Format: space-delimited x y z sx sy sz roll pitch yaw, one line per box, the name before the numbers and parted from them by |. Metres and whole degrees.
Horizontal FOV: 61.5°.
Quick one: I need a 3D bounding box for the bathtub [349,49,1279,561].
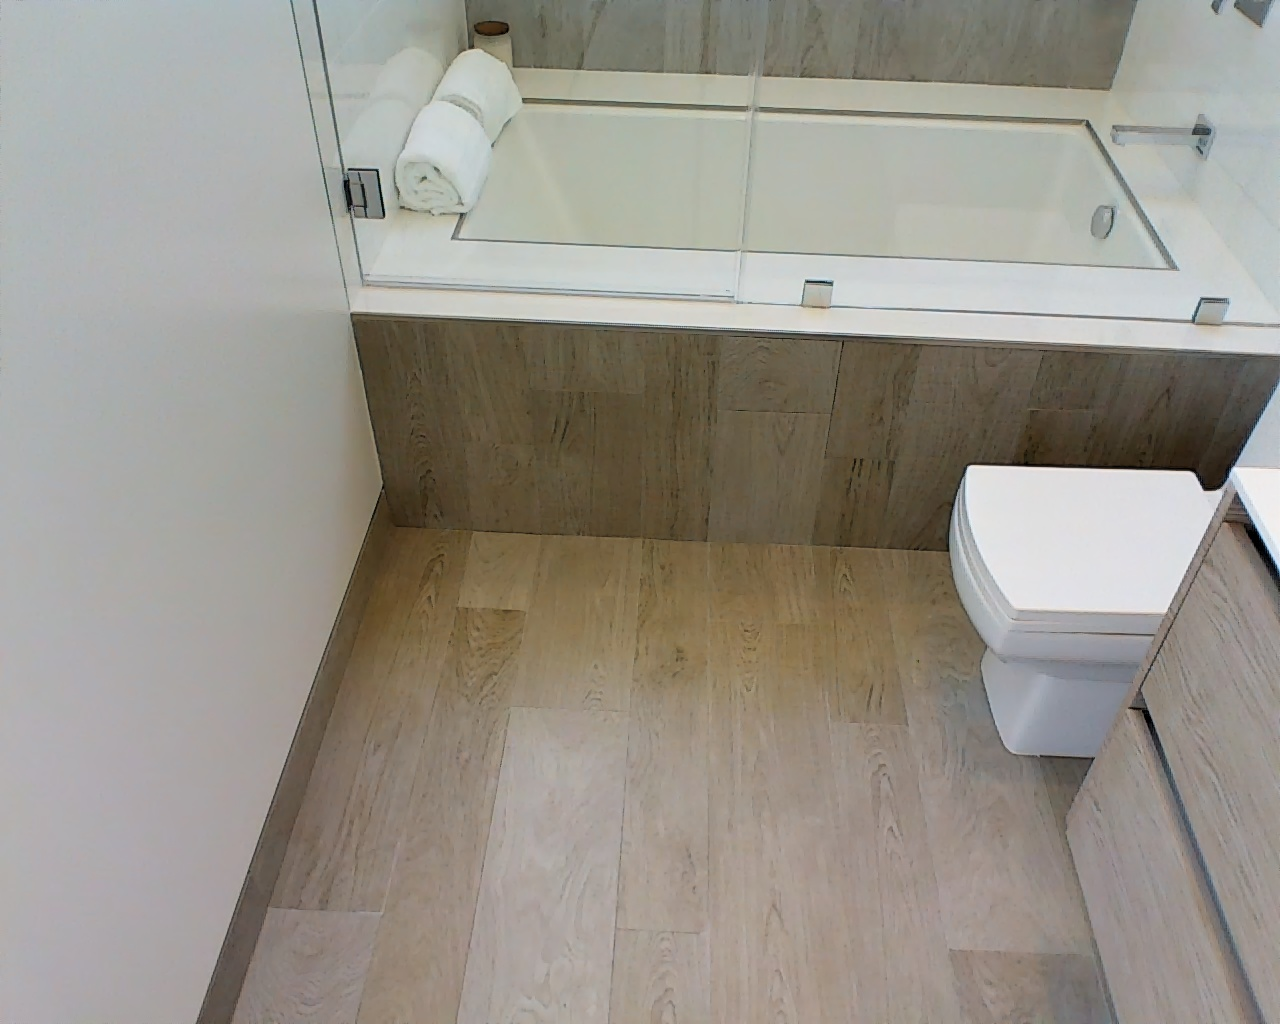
bathtub | 0.370 -0.580 2.610 1.750 0.560 1.320 2 42 1
